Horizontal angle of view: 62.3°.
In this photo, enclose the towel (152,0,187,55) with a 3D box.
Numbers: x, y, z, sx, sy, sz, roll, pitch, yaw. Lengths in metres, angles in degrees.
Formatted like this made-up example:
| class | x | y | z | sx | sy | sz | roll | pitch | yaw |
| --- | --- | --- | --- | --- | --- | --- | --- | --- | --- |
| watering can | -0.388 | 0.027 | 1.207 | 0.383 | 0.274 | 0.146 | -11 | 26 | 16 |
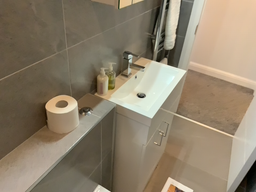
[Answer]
| class | x | y | z | sx | sy | sz | roll | pitch | yaw |
| --- | --- | --- | --- | --- | --- | --- | --- | --- | --- |
| towel | 0.340 | -0.600 | 1.690 | 0.110 | 0.440 | 0.320 | 21 | 39 | 21 |
